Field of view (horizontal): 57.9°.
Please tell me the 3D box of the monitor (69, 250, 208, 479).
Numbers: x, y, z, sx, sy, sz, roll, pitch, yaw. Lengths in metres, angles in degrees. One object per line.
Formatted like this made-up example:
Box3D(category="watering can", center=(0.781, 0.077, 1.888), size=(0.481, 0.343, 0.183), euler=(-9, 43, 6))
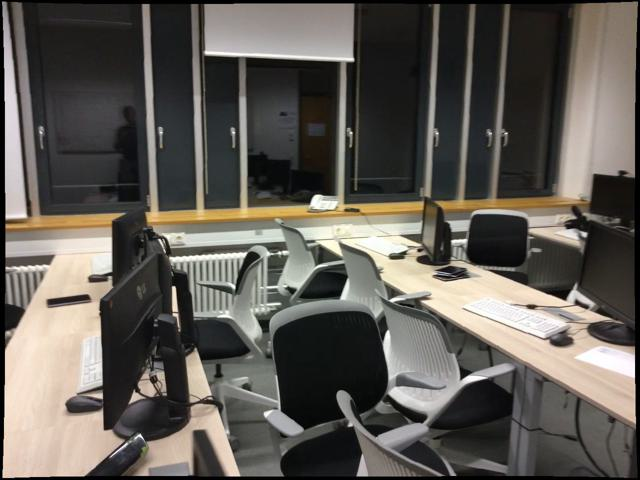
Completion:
Box3D(category="monitor", center=(-0.450, 0.320, 1.570), size=(0.220, 0.450, 0.610), euler=(-5, 12, -7))
